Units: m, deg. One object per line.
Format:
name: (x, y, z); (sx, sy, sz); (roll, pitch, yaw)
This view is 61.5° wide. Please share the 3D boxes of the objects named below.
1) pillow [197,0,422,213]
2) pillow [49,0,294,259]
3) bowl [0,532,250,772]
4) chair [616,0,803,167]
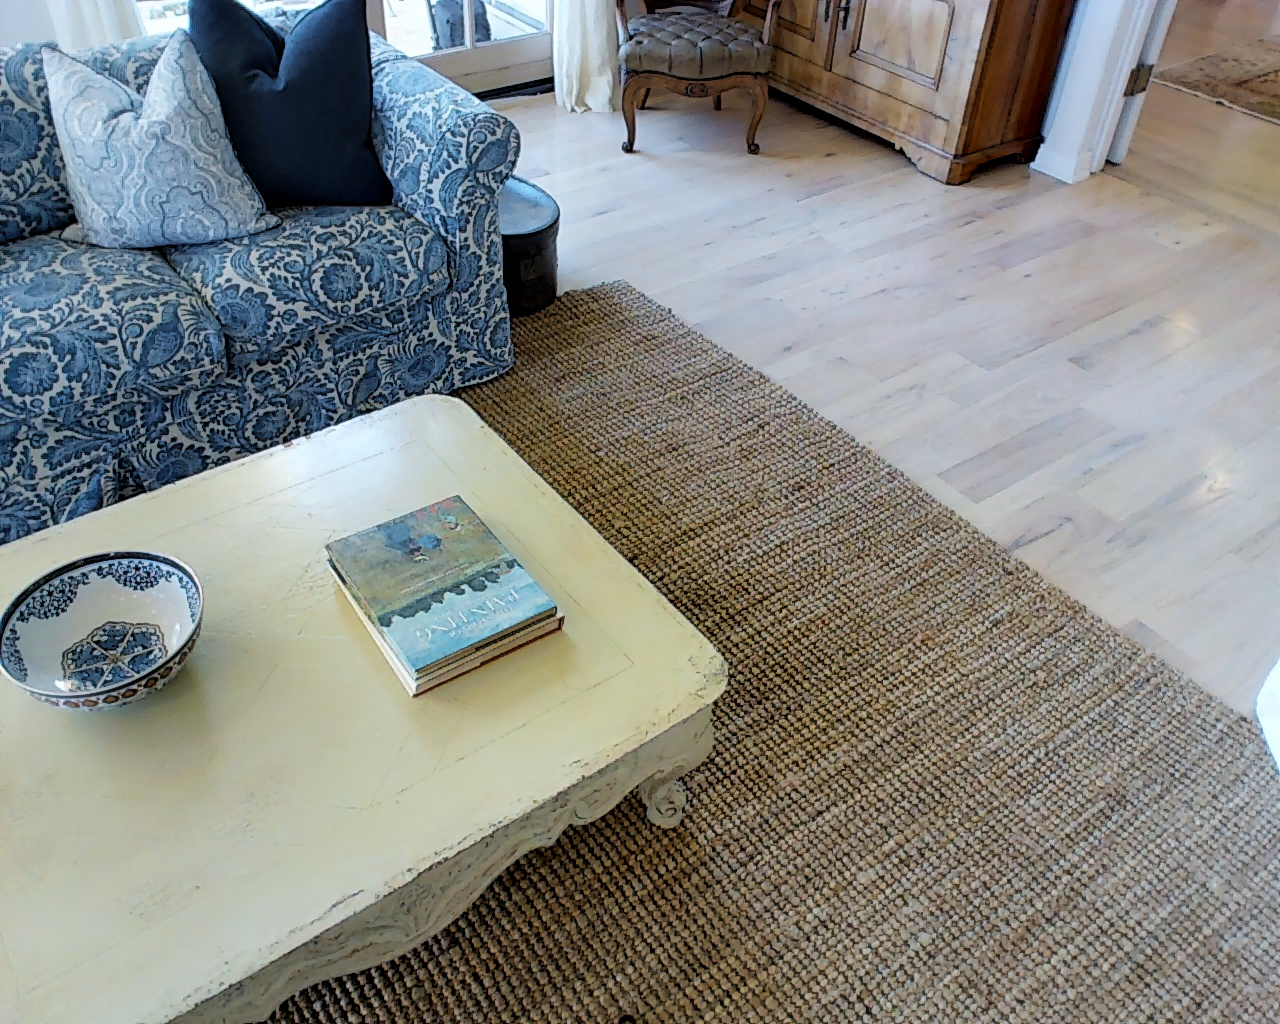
pillow: (-0.760, -1.000, 2.490); (0.380, 0.460, 0.350); (-18, 44, -32)
pillow: (-1.040, -0.840, 2.370); (0.390, 0.440, 0.350); (-9, 40, -38)
bowl: (-0.780, 0.190, 1.570); (0.310, 0.070, 0.270); (-25, 48, -28)
chair: (0.270, -1.890, 4.100); (0.620, 0.750, 0.930); (5, 41, 2)
